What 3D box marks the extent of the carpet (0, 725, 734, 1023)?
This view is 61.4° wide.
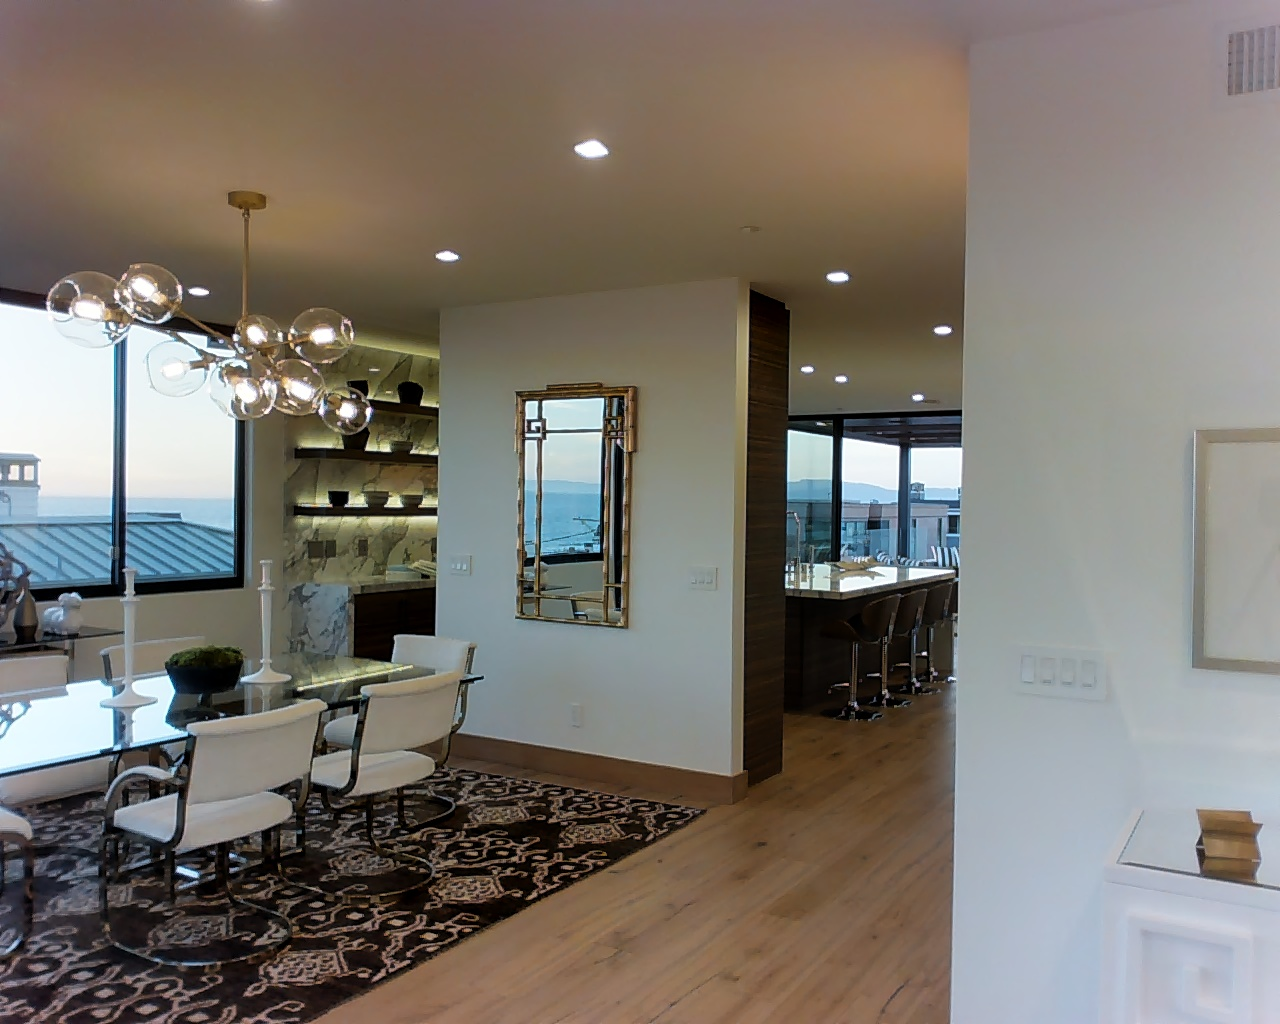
[{"bbox_3d":[-1.680,1.430,4.590,2.710,0.110,3.750,1,0,33],"label":"carpet"}]
